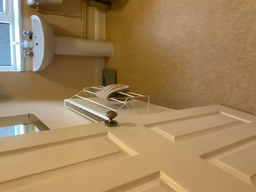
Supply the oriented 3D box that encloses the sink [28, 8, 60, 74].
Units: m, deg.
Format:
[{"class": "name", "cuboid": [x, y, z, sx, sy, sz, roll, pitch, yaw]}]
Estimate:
[{"class": "sink", "cuboid": [-0.830, -0.520, 2.080, 0.420, 0.180, 0.560, 16, 107, 52]}]
